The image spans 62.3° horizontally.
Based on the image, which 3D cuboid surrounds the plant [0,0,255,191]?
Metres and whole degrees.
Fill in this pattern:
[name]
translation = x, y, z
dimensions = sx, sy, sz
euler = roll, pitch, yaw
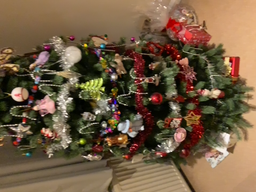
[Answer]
[plant]
translation = -0.250, -0.040, 1.330
dimensions = 1.020, 1.680, 0.920
euler = 60, 137, 37
